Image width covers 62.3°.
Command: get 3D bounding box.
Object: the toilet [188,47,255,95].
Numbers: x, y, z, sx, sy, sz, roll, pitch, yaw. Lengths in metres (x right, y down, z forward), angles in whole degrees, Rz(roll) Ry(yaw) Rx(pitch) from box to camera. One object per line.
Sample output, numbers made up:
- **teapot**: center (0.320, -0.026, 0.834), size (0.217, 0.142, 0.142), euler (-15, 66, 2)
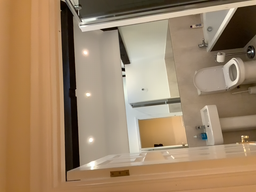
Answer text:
- **toilet**: center (1.370, -0.320, 2.950), size (0.650, 0.890, 0.390), euler (66, -161, -75)
